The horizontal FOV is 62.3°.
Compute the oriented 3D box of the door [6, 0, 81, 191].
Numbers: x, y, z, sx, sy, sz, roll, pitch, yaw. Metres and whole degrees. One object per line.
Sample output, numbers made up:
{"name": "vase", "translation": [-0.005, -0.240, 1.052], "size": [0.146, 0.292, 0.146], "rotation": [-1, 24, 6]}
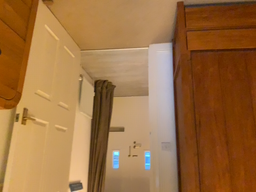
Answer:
{"name": "door", "translation": [-0.660, 0.260, 1.830], "size": [0.060, 1.930, 0.800], "rotation": [-2, 164, 10]}
